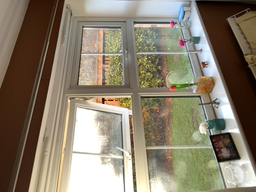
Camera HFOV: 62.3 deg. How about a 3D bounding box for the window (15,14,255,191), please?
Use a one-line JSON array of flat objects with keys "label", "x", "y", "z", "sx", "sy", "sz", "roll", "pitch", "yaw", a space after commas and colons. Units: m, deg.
[{"label": "window", "x": 0.020, "y": -0.030, "z": 1.630, "sx": 0.180, "sy": 1.310, "sz": 1.720, "roll": 94, "pitch": 173, "yaw": -55}]
